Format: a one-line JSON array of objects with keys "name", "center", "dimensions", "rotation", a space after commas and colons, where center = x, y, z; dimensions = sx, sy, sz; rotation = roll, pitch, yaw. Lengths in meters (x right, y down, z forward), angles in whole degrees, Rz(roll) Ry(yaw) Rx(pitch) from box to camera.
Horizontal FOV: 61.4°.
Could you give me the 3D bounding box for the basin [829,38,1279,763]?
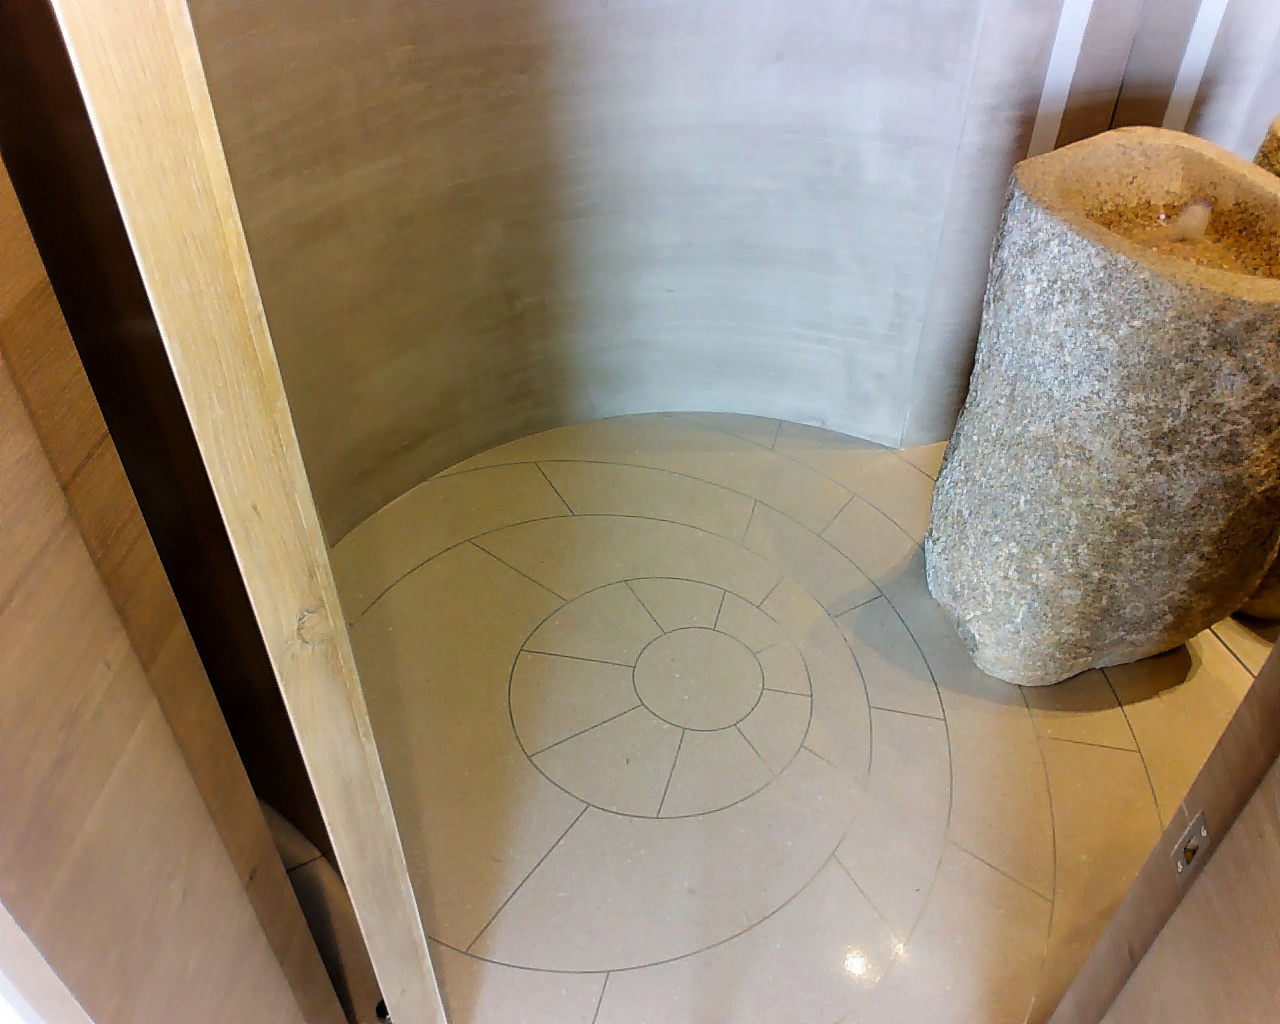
[{"name": "basin", "center": [0.830, -0.220, 1.960], "dimensions": [0.600, 0.930, 0.860], "rotation": [-7, 42, -9]}]
